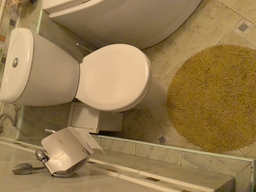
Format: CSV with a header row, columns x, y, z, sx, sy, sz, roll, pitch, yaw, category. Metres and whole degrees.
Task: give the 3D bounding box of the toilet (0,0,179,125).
x,y,z,sx,sy,sz,roll,pitch,yaw,category
-0.170,-0.090,1.200,0.650,0.750,0.380,1,79,34,toilet
